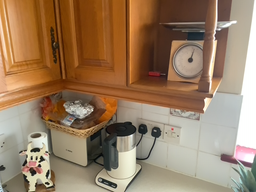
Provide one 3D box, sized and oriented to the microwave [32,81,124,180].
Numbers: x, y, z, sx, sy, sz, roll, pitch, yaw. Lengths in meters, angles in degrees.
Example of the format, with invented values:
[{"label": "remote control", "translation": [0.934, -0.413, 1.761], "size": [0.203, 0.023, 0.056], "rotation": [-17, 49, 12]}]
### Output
[{"label": "microwave", "translation": [-0.270, 0.160, 1.200], "size": [0.410, 0.400, 0.260], "rotation": [10, 19, 30]}]
